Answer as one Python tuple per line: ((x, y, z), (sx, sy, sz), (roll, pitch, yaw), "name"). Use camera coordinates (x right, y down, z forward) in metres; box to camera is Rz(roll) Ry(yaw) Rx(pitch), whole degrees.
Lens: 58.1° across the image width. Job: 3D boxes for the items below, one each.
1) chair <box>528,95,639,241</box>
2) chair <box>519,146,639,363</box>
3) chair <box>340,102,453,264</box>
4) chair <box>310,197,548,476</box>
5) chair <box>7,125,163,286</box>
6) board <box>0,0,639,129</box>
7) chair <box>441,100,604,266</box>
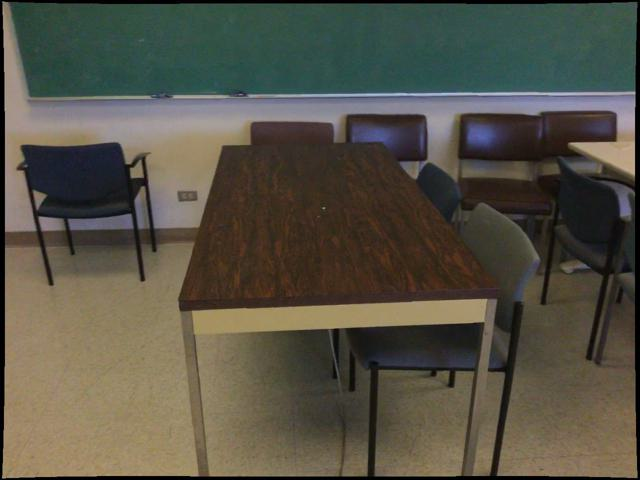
((1.556, -0.421, 3.280), (0.479, 0.702, 0.470), (-3, 23, -4), "chair")
((1.287, 0.030, 2.480), (0.539, 0.712, 0.590), (-5, 23, -7), "chair")
((0.389, -0.341, 3.210), (0.479, 0.712, 0.650), (-3, 23, -4), "chair")
((0.299, 0.291, 1.900), (0.608, 0.712, 0.500), (-3, 23, -4), "chair")
((-1.227, -0.211, 3.150), (0.529, 0.692, 0.610), (-3, 23, -3), "chair")
((0.140, -1.273, 3.070), (3.990, 1.153, 0.230), (-3, 23, -4), "board")
((1.057, -0.351, 3.220), (0.678, 0.732, 0.720), (2, 23, 8), "chair")
